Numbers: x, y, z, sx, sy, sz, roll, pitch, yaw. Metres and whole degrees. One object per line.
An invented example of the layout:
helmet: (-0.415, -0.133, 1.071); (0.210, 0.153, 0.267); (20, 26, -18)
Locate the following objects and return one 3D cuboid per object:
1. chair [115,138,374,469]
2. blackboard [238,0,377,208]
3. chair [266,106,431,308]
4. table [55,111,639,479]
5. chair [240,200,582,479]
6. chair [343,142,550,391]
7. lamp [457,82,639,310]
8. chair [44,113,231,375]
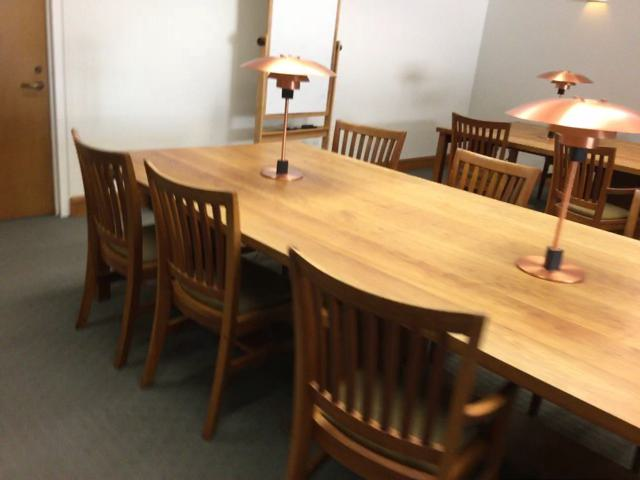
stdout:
chair: (-0.290, 0.170, 2.250); (0.670, 0.960, 0.660); (-16, 27, -39)
blackboard: (-0.110, -1.160, 4.690); (0.870, 1.560, 0.620); (-16, 27, -39)
chair: (0.140, -0.240, 3.410); (0.630, 0.960, 0.680); (-16, 27, -39)
table: (0.270, 0.180, 2.420); (1.580, 0.950, 2.880); (-16, 27, -39)
chair: (0.210, 0.460, 1.590); (0.620, 0.940, 0.570); (-16, 27, -39)
chair: (0.580, 0.070, 2.750); (0.740, 0.910, 0.540); (-16, 27, -39)
lamp: (0.750, -0.170, 1.760); (0.400, 0.550, 0.440); (-16, 27, -39)
chair: (-0.800, -0.030, 2.590); (0.510, 0.950, 0.620); (-16, 27, -39)
